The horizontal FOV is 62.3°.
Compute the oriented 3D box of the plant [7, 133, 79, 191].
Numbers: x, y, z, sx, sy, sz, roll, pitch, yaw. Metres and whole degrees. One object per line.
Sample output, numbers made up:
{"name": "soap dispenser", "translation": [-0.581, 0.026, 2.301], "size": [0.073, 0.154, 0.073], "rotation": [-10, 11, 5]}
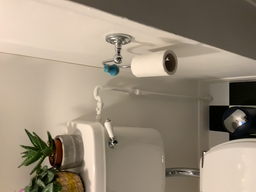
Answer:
{"name": "plant", "translation": [-0.260, 0.310, 0.630], "size": [0.150, 0.160, 0.370], "rotation": [-2, 85, 53]}
